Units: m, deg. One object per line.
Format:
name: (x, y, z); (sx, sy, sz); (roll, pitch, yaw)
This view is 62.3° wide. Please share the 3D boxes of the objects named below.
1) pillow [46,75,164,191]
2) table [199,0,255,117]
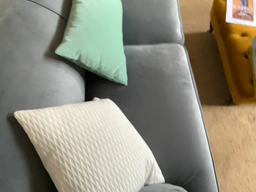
pillow: (-0.110, 0.180, 0.810); (0.210, 0.430, 0.490); (-14, 20, -32)
table: (0.940, -0.320, 1.520); (0.620, 0.850, 0.360); (-1, -25, 0)
